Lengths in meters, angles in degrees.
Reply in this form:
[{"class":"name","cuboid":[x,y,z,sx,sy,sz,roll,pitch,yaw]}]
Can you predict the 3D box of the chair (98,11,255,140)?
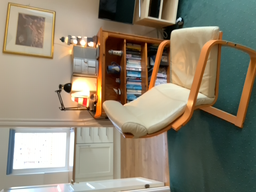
[{"class":"chair","cuboid":[0.340,-0.170,1.760,0.760,0.960,0.770,-142,57,-65]}]
